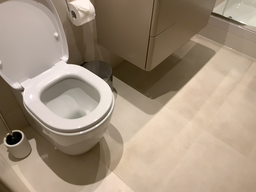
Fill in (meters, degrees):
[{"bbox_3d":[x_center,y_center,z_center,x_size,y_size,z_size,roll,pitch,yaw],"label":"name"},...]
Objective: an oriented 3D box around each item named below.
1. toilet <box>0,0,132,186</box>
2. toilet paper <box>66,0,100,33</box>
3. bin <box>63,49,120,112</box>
[{"bbox_3d":[-0.330,-0.040,1.020,0.510,0.820,0.400,34,54,24],"label":"toilet"},{"bbox_3d":[-0.240,-0.460,1.150,0.120,0.160,0.120,33,54,24],"label":"toilet paper"},{"bbox_3d":[-0.240,-0.110,1.480,0.220,0.260,0.290,34,54,25],"label":"bin"}]
